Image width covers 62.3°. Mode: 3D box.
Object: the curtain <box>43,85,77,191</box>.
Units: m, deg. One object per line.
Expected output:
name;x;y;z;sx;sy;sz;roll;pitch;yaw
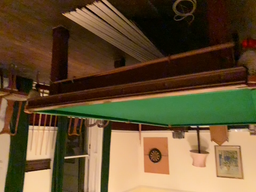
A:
curtain;-1.440;1.060;4.530;0.390;2.510;0.440;-6;168;29

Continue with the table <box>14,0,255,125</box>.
table;0.810;-0.100;3.130;2.050;0.870;3.820;-6;168;30
